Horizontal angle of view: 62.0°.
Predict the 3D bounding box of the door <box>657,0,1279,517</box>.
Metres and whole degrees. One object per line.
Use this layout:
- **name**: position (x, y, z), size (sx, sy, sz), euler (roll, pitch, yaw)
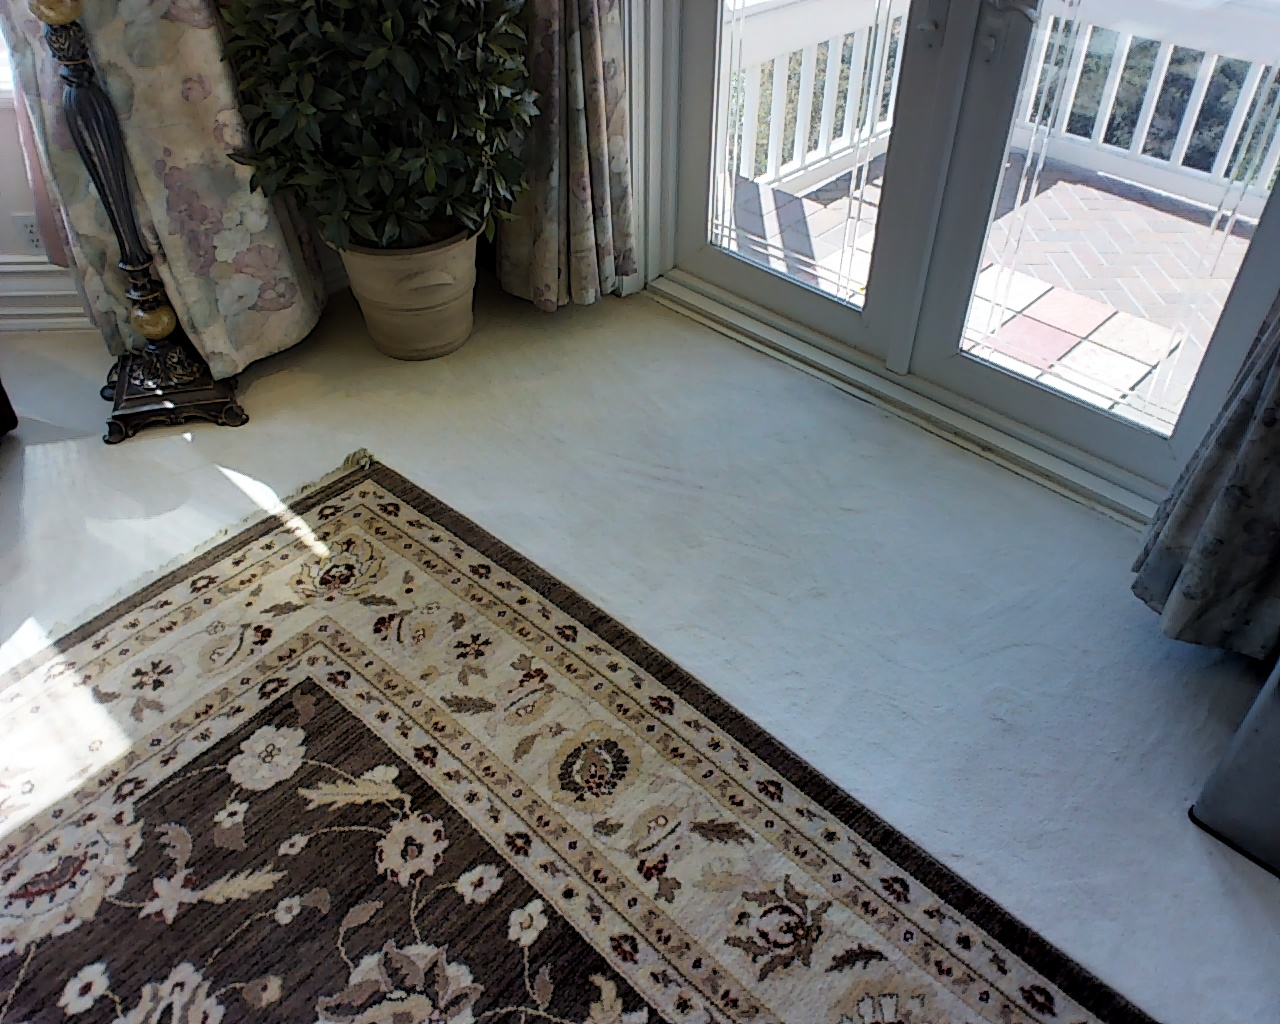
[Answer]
- **door**: position (0.600, -1.200, 1.800), size (1.430, 2.310, 0.070), euler (32, 50, 31)
